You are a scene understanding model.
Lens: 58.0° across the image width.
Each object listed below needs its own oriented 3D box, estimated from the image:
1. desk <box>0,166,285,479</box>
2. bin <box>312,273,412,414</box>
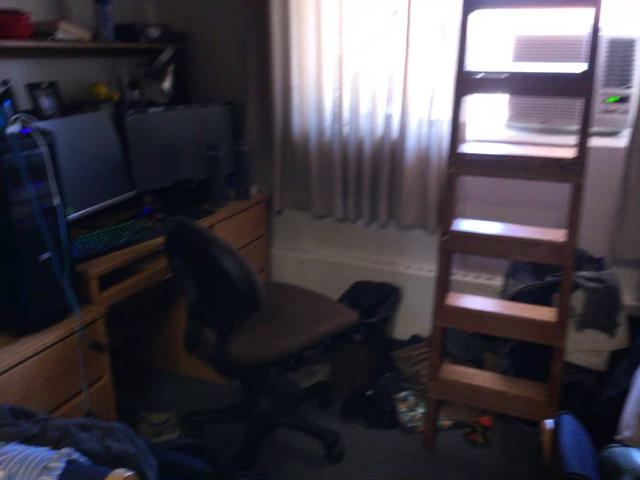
[{"bbox_3d":[-0.700,0.200,2.340,0.700,0.850,1.160,6,14,20],"label":"desk"},{"bbox_3d":[0.190,0.410,2.440,0.270,0.390,0.510,6,14,20],"label":"bin"}]
